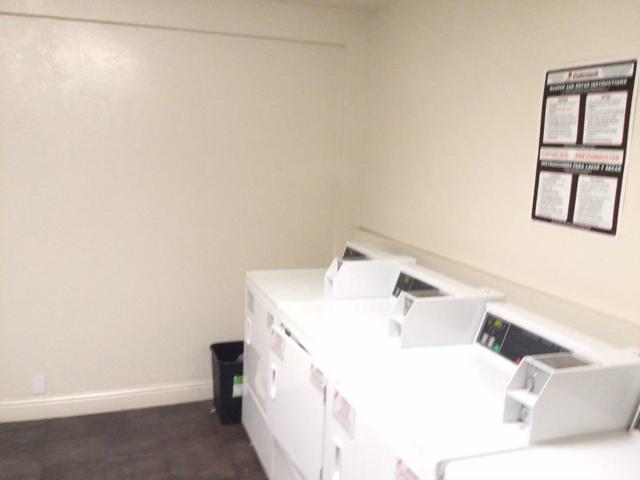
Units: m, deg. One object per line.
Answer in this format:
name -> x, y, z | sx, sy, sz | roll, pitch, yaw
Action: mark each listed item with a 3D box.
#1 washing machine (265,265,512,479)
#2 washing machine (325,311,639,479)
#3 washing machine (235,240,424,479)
washing machine -> 0.230, 0.680, 2.390 | 0.730, 1.060, 0.690 | 2, 3, -18
washing machine -> 0.460, 0.790, 1.740 | 0.690, 1.030, 0.710 | 2, 3, -18
washing machine -> 0.010, 0.570, 3.020 | 0.710, 1.070, 0.740 | 2, 3, -21
